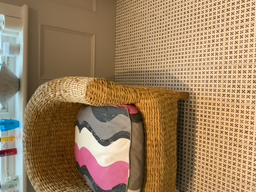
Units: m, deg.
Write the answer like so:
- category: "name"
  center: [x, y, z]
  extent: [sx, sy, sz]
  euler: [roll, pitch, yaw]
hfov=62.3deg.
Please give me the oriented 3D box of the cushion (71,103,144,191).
- category: "cushion"
  center: [-0.150, 0.270, 1.180]
  extent: [0.590, 0.090, 0.430]
  euler: [3, 93, 50]

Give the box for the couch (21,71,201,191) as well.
- category: "couch"
  center: [-0.140, 0.280, 1.320]
  extent: [0.800, 0.780, 0.800]
  euler: [6, 95, 50]
